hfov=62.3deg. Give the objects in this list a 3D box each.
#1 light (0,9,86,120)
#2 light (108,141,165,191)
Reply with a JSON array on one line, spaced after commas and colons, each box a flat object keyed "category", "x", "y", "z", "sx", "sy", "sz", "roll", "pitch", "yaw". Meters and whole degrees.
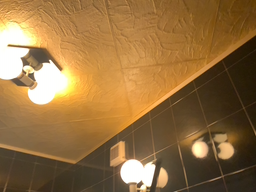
[{"category": "light", "x": -0.530, "y": -0.160, "z": 1.220, "sx": 0.270, "sy": 0.460, "sz": 0.390, "roll": -35, "pitch": -138, "yaw": 35}, {"category": "light", "x": 0.050, "y": 0.470, "z": 1.340, "sx": 0.230, "sy": 0.240, "sz": 0.230, "roll": -32, "pitch": -137, "yaw": 23}]
